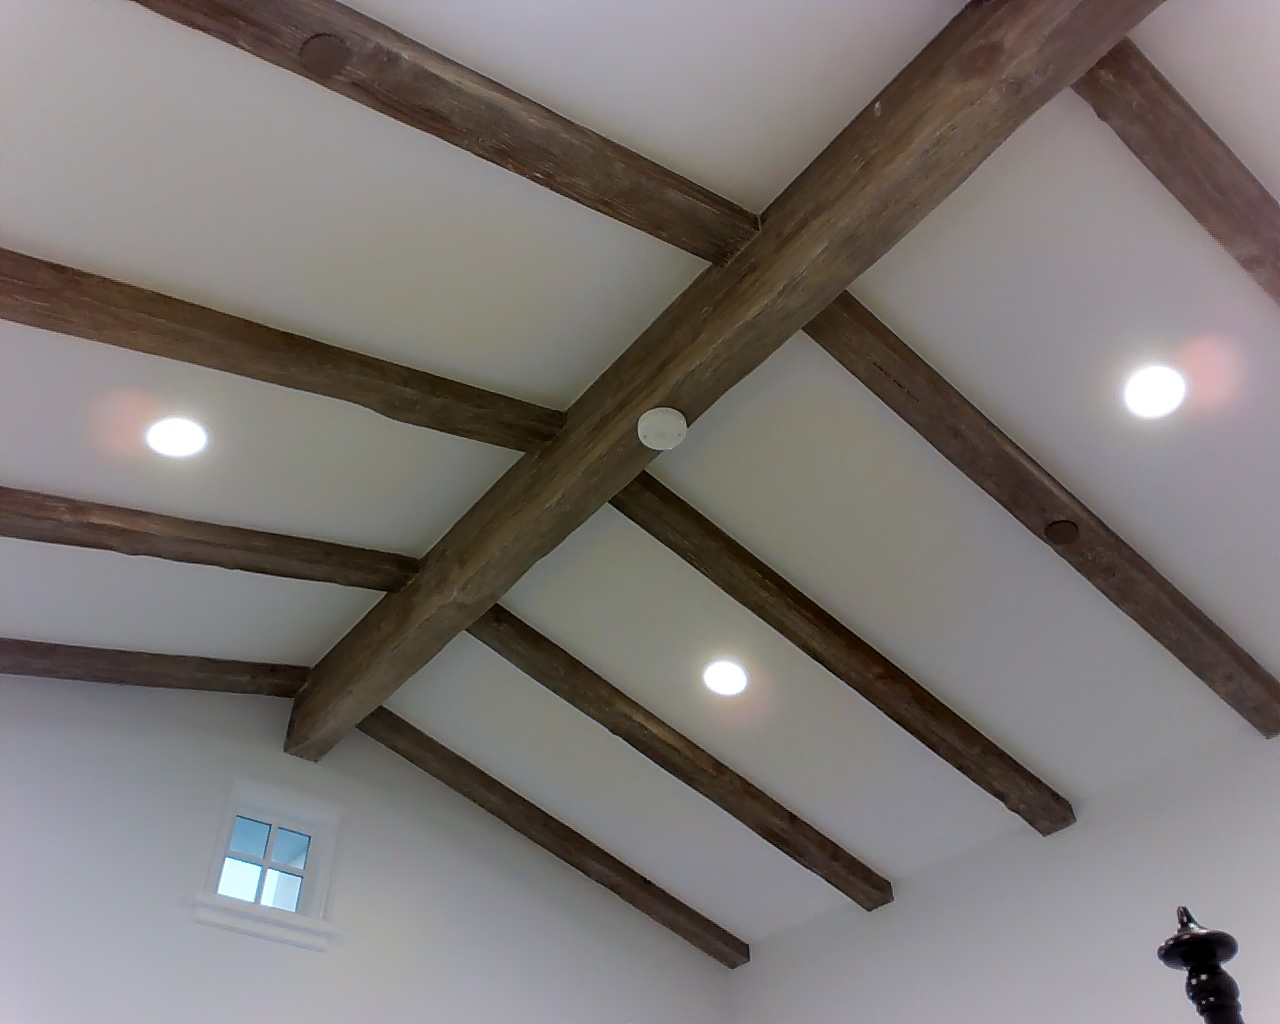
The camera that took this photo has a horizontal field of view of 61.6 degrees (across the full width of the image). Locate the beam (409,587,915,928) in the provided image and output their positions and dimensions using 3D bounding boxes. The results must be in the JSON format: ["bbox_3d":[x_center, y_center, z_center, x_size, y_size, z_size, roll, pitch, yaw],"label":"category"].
[{"bbox_3d":[0.160,0.961,3.960,1.989,0.620,0.330,26,-47,-27],"label":"beam"}]

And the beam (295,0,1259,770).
[{"bbox_3d":[0.100,-0.280,2.800,0.240,0.280,4.180,26,-47,-27],"label":"beam"}]

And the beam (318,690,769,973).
[{"bbox_3d":[-0.290,1.341,4.380,1.989,0.630,0.150,26,-47,-27],"label":"beam"}]

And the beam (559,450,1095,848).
[{"bbox_3d":[0.660,0.510,3.480,1.969,0.590,0.320,26,-47,-27],"label":"beam"}]
